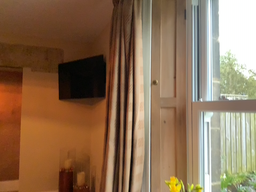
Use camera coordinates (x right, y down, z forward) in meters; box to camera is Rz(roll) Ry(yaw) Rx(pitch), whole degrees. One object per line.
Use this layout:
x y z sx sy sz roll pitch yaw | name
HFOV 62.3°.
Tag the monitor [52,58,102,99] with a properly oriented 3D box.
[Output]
-0.720 -0.220 2.890 0.930 0.500 0.070 1 -1 37 | monitor
